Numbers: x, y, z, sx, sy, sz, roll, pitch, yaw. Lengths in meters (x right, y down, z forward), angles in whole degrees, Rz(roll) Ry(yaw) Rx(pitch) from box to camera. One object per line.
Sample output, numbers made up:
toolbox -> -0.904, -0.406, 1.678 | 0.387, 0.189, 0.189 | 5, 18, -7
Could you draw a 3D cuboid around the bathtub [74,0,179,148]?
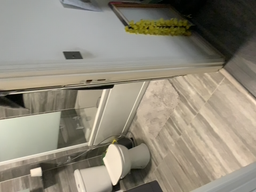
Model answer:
bathtub -> -0.170, -0.210, 2.470 | 0.680, 0.550, 1.700 | 59, 143, 35
